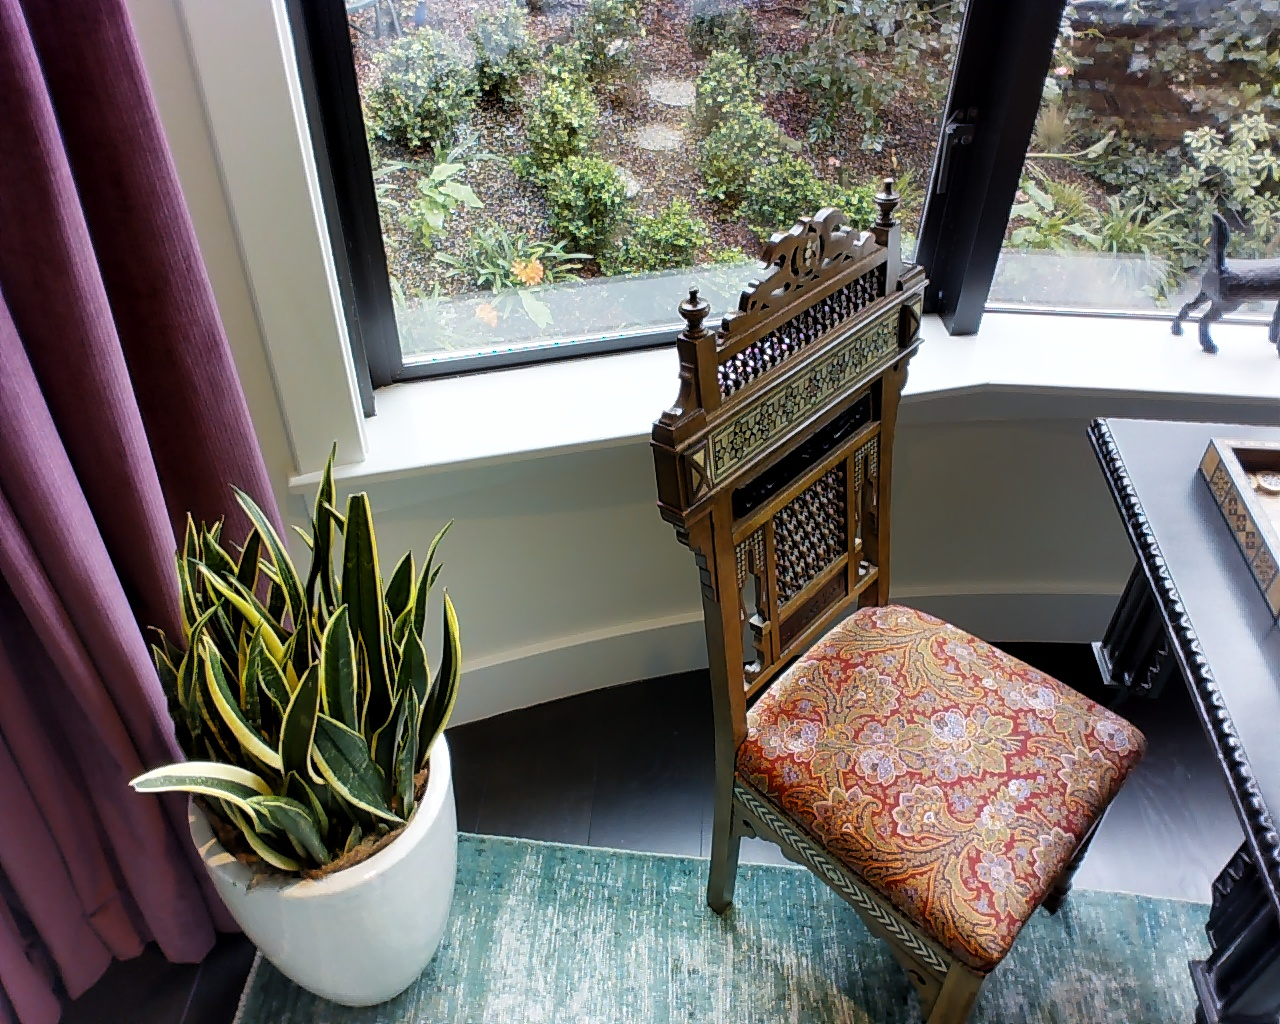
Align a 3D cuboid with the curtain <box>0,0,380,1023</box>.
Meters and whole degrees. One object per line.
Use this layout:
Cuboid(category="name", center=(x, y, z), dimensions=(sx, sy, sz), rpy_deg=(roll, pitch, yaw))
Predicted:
Cuboid(category="curtain", center=(-0.810, -0.070, 0.790), dimensions=(0.920, 2.150, 0.160), rpy_deg=(-28, 50, -27))
